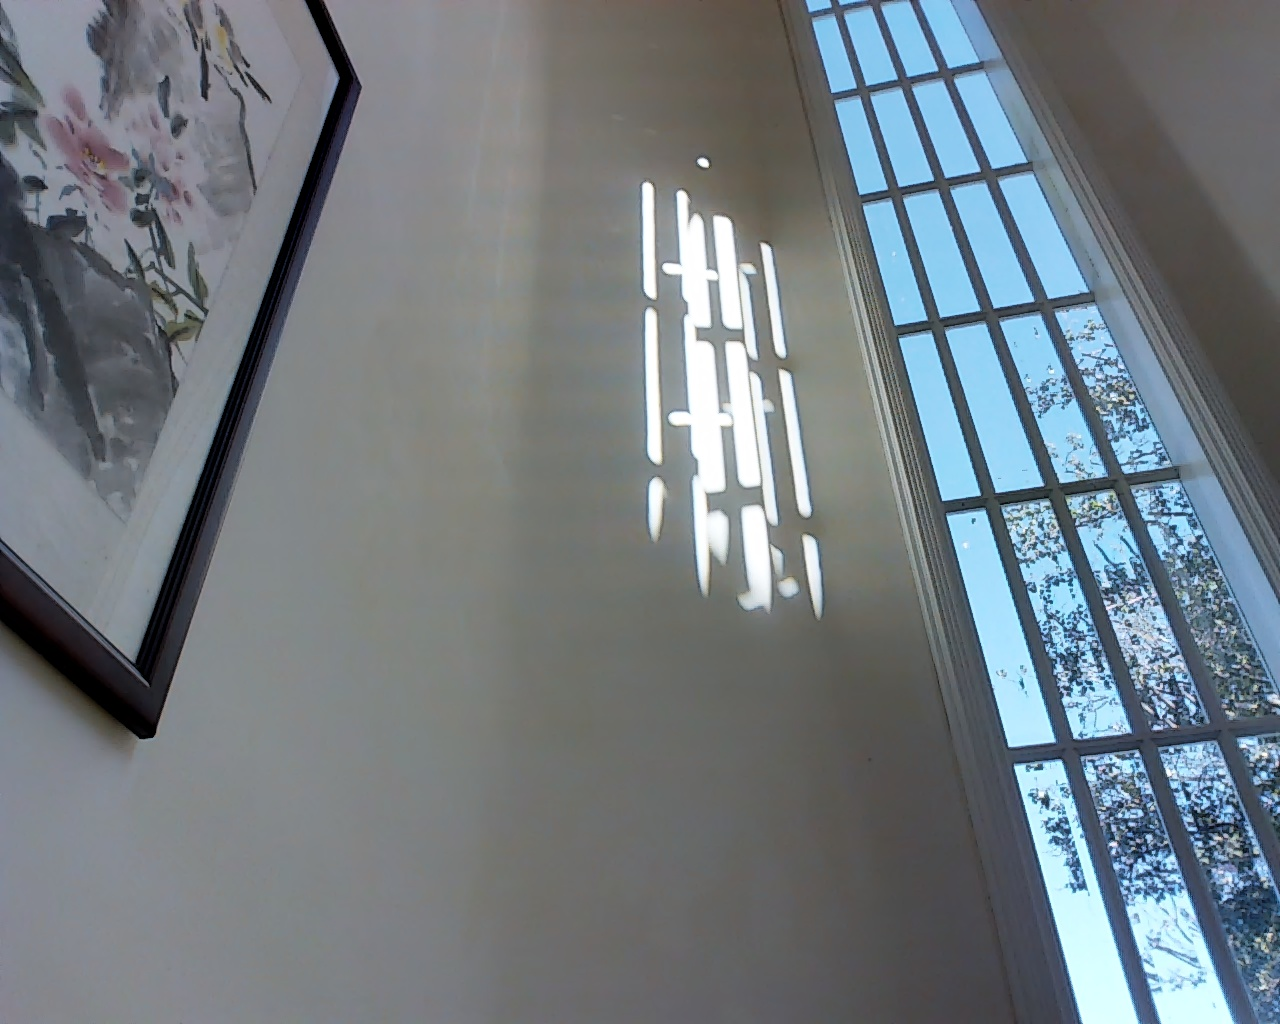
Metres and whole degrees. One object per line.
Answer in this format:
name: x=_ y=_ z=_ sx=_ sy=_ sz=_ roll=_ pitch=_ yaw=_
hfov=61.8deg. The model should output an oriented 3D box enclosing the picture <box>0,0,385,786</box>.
picture: x=-0.410 y=-0.350 z=0.850 sx=0.040 sy=0.940 sz=0.580 roll=-8 pitch=-43 yaw=9
